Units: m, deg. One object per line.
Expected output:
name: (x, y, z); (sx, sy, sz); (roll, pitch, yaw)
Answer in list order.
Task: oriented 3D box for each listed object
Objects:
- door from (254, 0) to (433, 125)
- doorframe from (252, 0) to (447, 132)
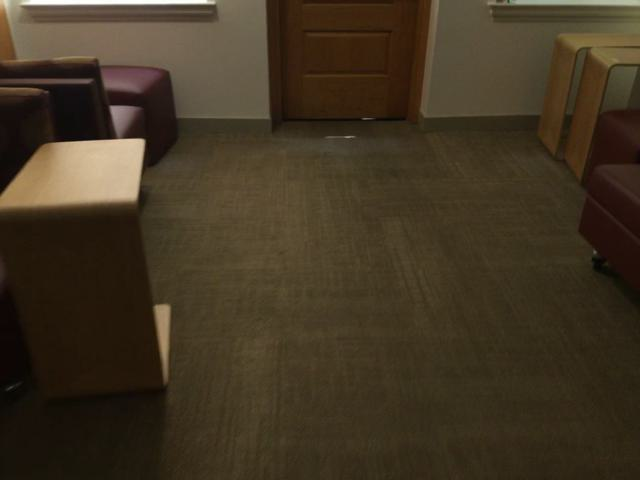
door: (0.130, -1.410, 3.520); (1.030, 1.310, 0.390); (1, 30, -1)
doorframe: (0.160, -1.300, 3.370); (1.080, 1.290, 0.250); (1, 30, -1)
